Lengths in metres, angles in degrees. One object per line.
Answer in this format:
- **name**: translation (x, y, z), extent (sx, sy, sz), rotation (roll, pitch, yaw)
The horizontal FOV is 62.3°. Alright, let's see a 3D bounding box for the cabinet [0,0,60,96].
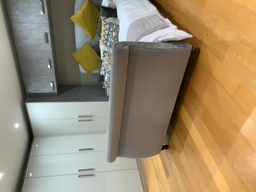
- **cabinet**: translation (-1.700, -1.130, 3.750), extent (0.440, 0.710, 2.500), rotation (-105, 18, -51)
